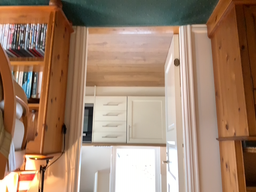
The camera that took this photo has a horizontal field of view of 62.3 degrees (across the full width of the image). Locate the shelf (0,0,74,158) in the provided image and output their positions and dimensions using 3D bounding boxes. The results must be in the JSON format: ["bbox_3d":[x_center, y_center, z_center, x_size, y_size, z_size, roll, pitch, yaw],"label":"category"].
[{"bbox_3d":[-0.950,-0.100,1.360,1.070,0.930,0.310,0,168,1],"label":"shelf"}]

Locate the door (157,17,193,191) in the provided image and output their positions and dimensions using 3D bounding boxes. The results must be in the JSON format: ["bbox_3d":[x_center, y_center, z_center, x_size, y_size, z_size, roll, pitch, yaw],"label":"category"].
[{"bbox_3d":[0.370,0.620,1.820,0.110,2.250,0.990,0,168,2],"label":"door"}]
